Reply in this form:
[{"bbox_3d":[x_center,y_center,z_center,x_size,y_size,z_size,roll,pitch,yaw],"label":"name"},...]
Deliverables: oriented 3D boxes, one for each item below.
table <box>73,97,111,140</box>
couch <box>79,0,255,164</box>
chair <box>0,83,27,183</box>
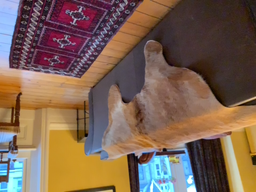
[{"bbox_3d":[-0.540,0.350,3.120,0.410,0.530,0.400,6,157,-32],"label":"table"},{"bbox_3d":[0.530,-0.010,1.880,1.090,0.900,2.510,6,157,-31],"label":"couch"},{"bbox_3d":[-1.570,0.450,2.430,0.620,1.040,0.660,6,157,-32],"label":"chair"}]
